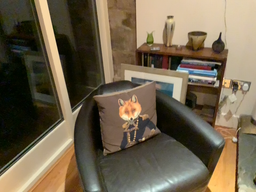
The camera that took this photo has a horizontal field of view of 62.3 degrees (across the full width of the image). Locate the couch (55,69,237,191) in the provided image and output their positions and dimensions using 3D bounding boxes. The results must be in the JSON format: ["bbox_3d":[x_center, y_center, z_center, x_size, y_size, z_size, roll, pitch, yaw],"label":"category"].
[{"bbox_3d":[0.040,0.360,1.440,0.790,0.690,0.810,-15,34,-18],"label":"couch"}]
